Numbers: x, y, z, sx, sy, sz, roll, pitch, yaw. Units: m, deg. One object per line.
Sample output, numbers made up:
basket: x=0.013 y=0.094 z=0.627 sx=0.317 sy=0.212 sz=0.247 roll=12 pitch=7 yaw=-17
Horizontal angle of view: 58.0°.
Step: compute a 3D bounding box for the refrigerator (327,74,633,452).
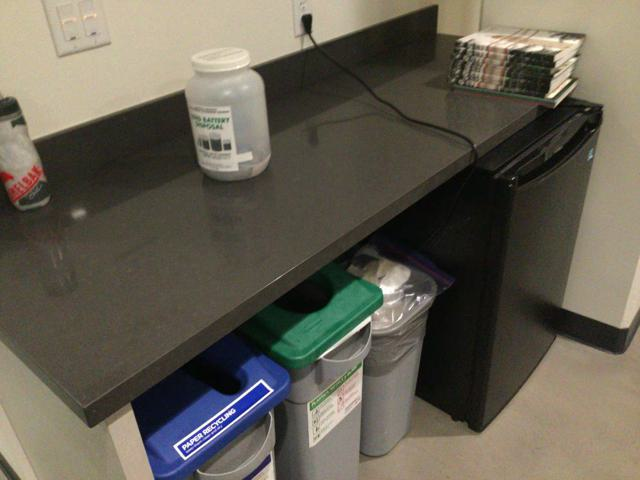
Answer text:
refrigerator: x=0.440 y=0.030 z=1.690 sx=0.570 sy=0.810 sz=0.520 roll=-28 pitch=38 yaw=-31
